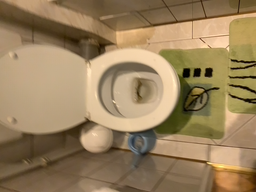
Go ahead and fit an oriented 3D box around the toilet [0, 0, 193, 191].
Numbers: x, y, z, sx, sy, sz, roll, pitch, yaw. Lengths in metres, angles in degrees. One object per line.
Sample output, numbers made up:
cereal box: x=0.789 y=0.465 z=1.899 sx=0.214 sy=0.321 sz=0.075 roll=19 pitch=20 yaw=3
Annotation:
toilet: x=-0.160 y=-0.060 z=0.890 sx=0.690 sy=0.910 sz=0.490 roll=4 pitch=93 yaw=24
